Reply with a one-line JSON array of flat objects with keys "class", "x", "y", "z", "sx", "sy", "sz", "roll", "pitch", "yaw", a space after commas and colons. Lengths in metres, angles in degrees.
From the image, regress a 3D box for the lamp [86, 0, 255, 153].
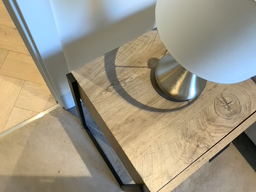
[{"class": "lamp", "x": 0.130, "y": -0.150, "z": 0.430, "sx": 0.290, "sy": 0.440, "sz": 0.360, "roll": -29, "pitch": 74, "yaw": -18}]
